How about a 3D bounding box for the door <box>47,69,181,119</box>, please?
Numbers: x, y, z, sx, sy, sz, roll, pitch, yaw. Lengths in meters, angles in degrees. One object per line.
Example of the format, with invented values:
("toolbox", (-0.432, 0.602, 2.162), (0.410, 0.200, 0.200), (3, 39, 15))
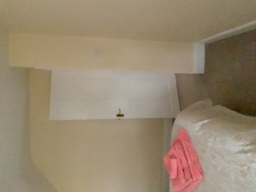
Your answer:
("door", (-0.180, -0.040, 3.300), (0.100, 1.990, 0.750), (117, 151, -65))
